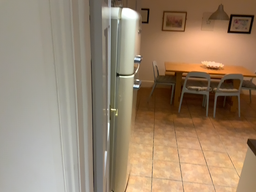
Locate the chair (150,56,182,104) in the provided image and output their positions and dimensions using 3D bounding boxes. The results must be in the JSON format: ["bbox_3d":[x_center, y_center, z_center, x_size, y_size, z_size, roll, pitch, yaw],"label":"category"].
[{"bbox_3d":[0.780,-0.350,4.400,0.530,0.820,0.560,6,21,9],"label":"chair"}]

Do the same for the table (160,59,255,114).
[{"bbox_3d":[1.540,-0.240,4.330,1.660,0.750,0.800,6,21,8],"label":"table"}]

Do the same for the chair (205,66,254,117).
[{"bbox_3d":[1.820,-0.090,3.880,0.500,0.820,0.470,2,21,-3],"label":"chair"}]

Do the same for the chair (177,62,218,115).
[{"bbox_3d":[1.250,-0.150,3.950,0.560,0.820,0.510,6,21,10],"label":"chair"}]
